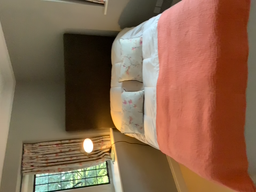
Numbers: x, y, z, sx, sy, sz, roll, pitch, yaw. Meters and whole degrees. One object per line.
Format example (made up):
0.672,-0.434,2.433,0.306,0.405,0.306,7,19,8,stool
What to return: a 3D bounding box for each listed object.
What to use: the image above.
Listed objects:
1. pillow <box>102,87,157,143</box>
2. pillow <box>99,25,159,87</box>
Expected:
0.020,0.220,2.560,0.520,0.400,0.180,48,171,-12,pillow
0.010,-0.470,2.590,0.620,0.390,0.200,48,171,-15,pillow
